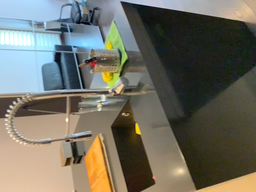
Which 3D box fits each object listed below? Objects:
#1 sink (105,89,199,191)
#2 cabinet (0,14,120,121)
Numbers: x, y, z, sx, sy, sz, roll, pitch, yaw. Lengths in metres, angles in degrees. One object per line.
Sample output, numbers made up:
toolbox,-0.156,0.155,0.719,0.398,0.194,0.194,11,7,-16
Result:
sink,0.080,0.260,1.090,0.360,0.210,0.460,-56,44,50
cabinet,-1.520,-0.480,3.440,0.670,2.390,1.550,-56,44,51
